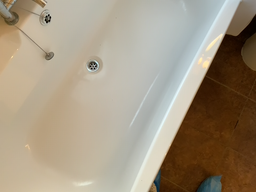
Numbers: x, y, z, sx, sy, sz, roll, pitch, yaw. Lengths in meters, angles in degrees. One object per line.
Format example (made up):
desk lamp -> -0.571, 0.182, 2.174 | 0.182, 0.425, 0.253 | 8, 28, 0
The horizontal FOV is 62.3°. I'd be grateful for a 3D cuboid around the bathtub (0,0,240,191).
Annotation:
bathtub -> -0.110, -0.120, 0.990 | 0.720, 0.540, 1.670 | 29, 79, 4
